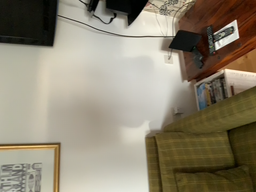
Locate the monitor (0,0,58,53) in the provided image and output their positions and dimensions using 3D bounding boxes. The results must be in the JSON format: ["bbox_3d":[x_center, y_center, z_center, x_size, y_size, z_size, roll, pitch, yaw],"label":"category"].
[{"bbox_3d":[-0.690,-0.660,1.270,0.070,0.520,0.770,-115,35,-51],"label":"monitor"}]
